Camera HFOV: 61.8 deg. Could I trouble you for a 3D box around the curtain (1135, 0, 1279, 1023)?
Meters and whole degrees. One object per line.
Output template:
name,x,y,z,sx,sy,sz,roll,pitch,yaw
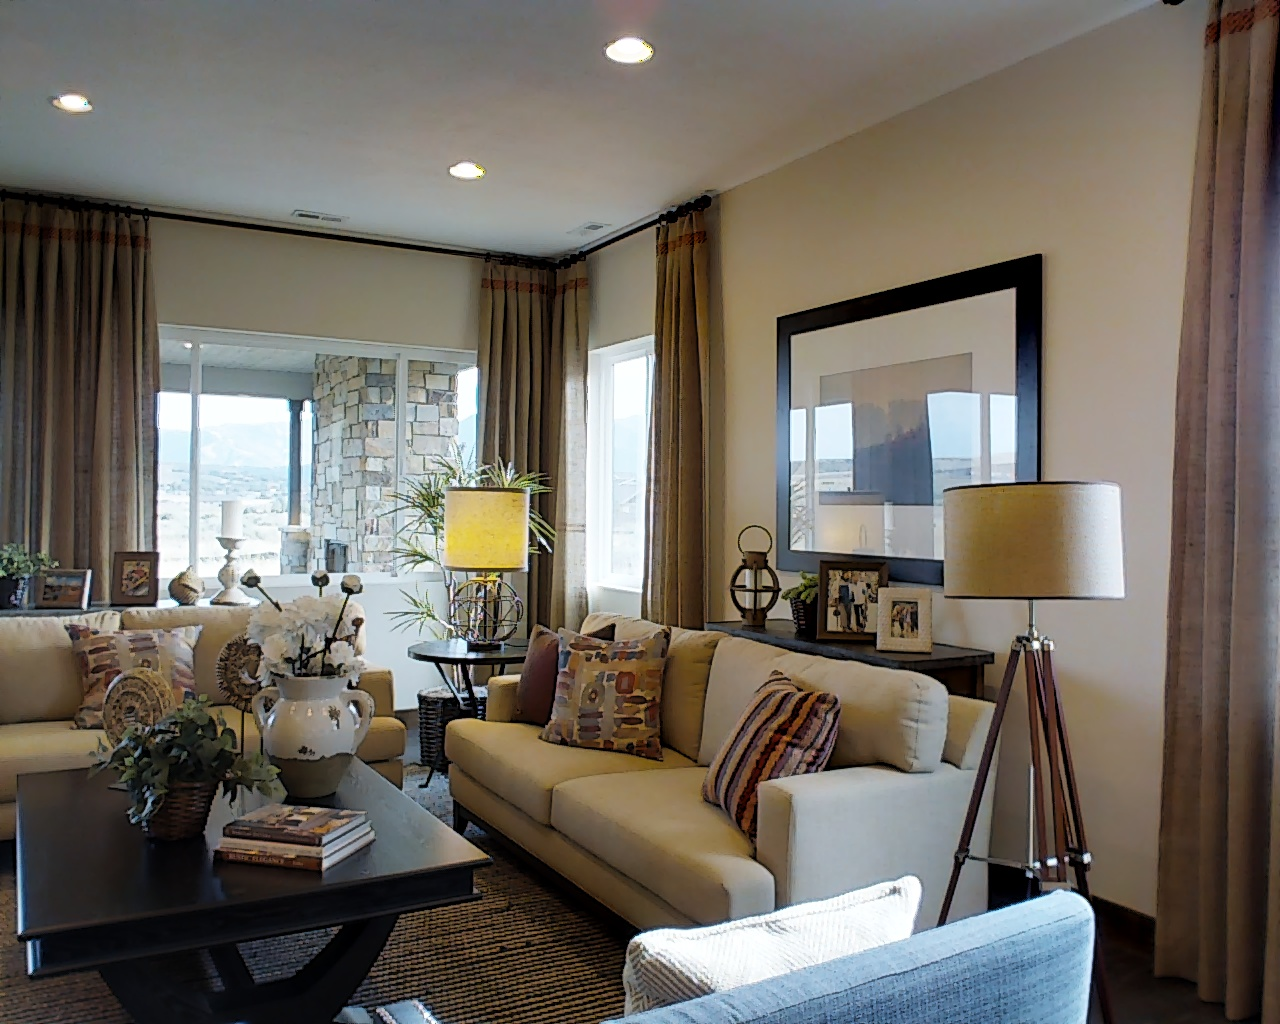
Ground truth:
curtain,1.790,-0.090,3.010,0.180,3.000,0.720,1,0,-30

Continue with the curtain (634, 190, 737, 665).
curtain,0.230,-0.420,5.660,0.230,2.370,0.610,1,0,-30

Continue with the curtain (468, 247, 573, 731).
curtain,-0.770,-0.140,6.840,0.620,3.010,0.260,1,0,-10

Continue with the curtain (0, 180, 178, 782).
curtain,-2.980,-0.150,5.650,0.930,2.990,0.380,1,0,-30

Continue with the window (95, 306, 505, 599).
window,-1.990,-0.310,6.510,2.330,1.580,0.380,1,0,-30
